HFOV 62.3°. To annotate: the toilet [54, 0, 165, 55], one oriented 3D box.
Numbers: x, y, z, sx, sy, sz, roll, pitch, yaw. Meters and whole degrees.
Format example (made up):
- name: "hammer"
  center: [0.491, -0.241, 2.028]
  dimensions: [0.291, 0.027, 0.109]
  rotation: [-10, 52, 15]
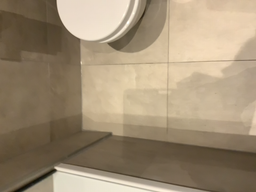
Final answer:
- name: "toilet"
  center: [-0.060, -0.500, 1.060]
  dimensions: [0.390, 0.450, 0.520]
  rotation: [2, 95, 23]
